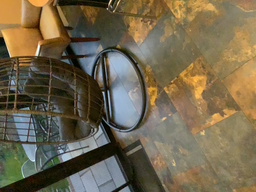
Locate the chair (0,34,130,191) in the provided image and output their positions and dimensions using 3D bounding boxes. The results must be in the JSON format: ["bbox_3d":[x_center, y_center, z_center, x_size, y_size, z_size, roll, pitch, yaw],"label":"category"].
[{"bbox_3d":[-0.810,0.150,1.830,0.950,1.070,0.880,60,139,17],"label":"chair"}]

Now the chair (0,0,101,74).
[{"bbox_3d":[-0.910,-0.750,2.430,0.640,0.840,0.630,-44,68,48],"label":"chair"}]
